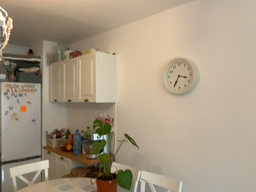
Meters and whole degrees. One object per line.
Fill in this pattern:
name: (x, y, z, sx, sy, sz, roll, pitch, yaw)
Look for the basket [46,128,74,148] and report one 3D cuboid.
basket: (-1.060, 0.640, 3.300, 0.340, 0.240, 0.260, 2, -1, -44)
